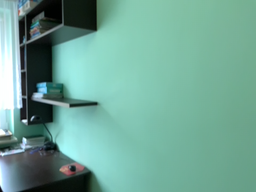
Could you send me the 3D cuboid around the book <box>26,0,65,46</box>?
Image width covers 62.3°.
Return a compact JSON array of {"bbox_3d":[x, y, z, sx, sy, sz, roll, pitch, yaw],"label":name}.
[{"bbox_3d":[-0.880,-0.750,2.250,0.270,0.350,0.420,-3,5,-39],"label":"book"}]
